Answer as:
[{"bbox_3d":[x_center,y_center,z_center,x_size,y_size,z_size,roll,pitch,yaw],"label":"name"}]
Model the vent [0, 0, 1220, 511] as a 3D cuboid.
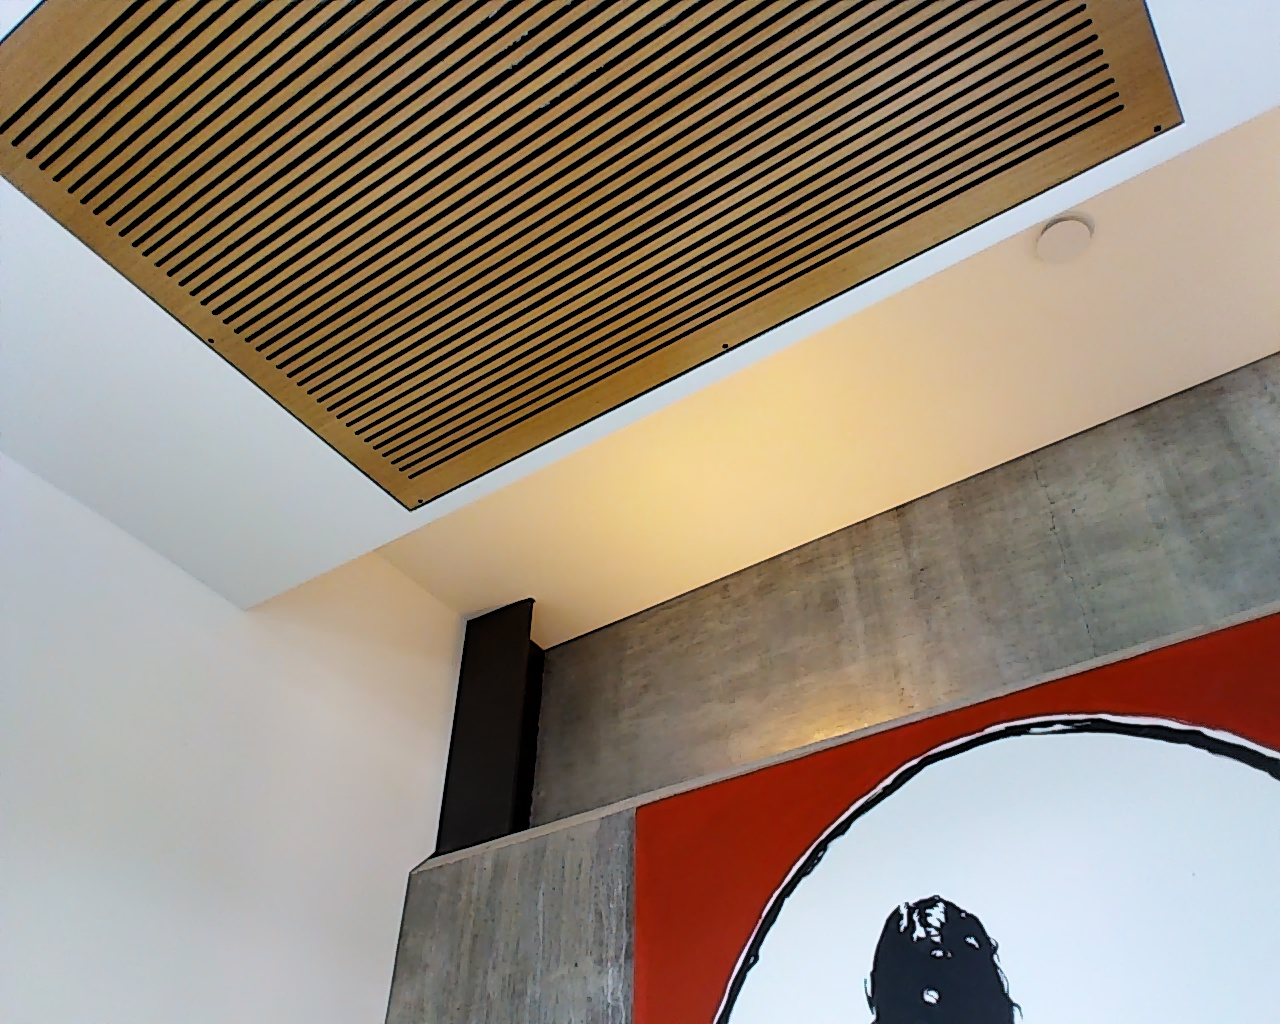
[{"bbox_3d":[-0.090,-0.470,1.240,1.240,0.020,0.890,-24,-45,26],"label":"vent"}]
